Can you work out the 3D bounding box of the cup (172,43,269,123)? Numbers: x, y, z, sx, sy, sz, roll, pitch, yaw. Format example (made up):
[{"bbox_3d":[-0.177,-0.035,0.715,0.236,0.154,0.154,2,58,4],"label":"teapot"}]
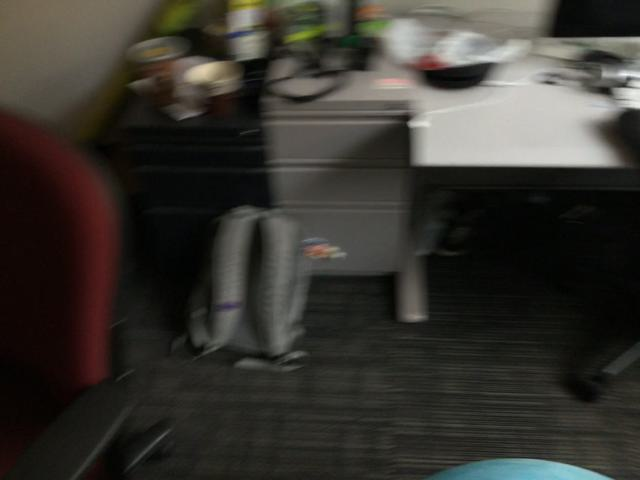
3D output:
[{"bbox_3d":[-0.250,-0.410,1.500,0.200,0.110,0.200,3,44,3],"label":"cup"}]

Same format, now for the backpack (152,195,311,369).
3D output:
[{"bbox_3d":[-0.220,0.120,1.640,0.360,0.360,0.310,3,44,3],"label":"backpack"}]

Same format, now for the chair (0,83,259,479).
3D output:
[{"bbox_3d":[-0.610,0.330,1.020,0.670,0.970,0.670,24,49,22],"label":"chair"}]

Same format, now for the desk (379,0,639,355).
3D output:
[{"bbox_3d":[1.040,-0.170,1.670,1.650,0.690,0.750,6,45,1],"label":"desk"}]
